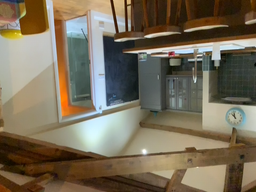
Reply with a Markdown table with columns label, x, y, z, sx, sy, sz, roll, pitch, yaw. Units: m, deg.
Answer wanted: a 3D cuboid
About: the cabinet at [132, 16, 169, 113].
| label | x | y | z | sx | sy | sz | roll | pitch | yaw |
| --- | --- | --- | --- | --- | --- | --- | --- | --- | --- |
| cabinet | 0.590 | -0.770 | 5.470 | 0.680 | 2.270 | 0.670 | 5 | -170 | 37 |
